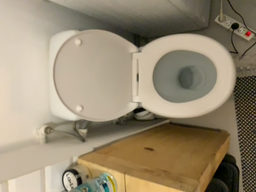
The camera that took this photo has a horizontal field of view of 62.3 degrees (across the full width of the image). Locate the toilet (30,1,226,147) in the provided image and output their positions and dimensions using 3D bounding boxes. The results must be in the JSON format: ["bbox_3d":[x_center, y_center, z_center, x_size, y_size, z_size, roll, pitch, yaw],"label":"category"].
[{"bbox_3d":[0.080,-0.090,1.020,0.600,0.800,0.360,5,95,31],"label":"toilet"}]
